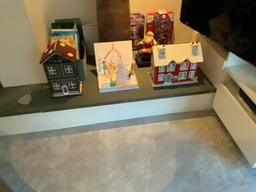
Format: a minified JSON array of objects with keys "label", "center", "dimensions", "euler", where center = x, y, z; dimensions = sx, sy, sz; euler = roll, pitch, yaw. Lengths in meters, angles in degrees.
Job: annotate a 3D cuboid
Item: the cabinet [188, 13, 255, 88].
[{"label":"cabinet","center":[0.830,-0.400,1.800],"dimensions":[0.400,0.400,0.530],"euler":[-5,40,-6]}]
